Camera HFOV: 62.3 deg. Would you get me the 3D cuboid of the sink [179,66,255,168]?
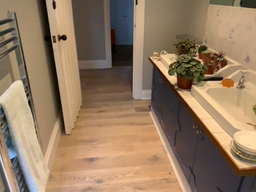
[{"bbox_3d":[0.670,0.060,1.300,0.450,0.260,0.730,-2,26,-7],"label":"sink"}]
